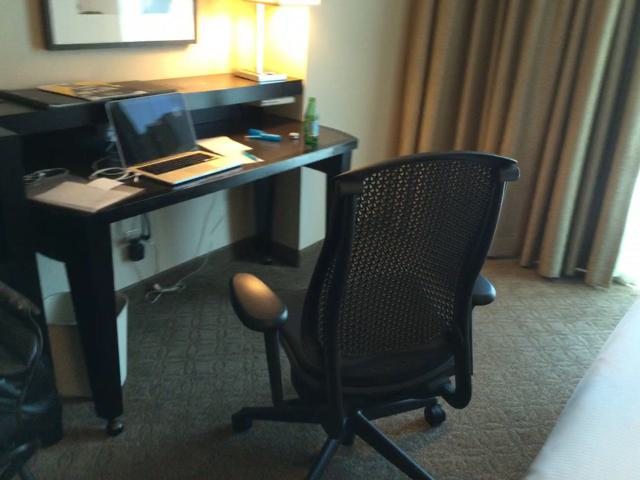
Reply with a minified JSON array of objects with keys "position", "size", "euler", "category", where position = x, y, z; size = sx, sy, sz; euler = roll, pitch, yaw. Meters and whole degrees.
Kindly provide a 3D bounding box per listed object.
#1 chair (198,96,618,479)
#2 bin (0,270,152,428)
[{"position":[0.130,0.190,1.600],"size":[0.710,1.030,0.750],"euler":[-8,25,-28],"category":"chair"},{"position":[-0.830,0.350,1.970],"size":[0.370,0.320,0.320],"euler":[18,26,30],"category":"bin"}]
